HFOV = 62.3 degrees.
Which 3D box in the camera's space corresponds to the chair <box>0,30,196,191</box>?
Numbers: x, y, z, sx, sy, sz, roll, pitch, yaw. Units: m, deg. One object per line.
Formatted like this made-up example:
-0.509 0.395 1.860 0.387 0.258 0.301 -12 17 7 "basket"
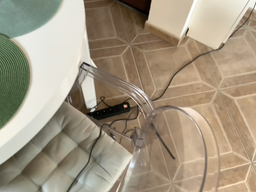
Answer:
-0.200 0.290 0.810 0.480 0.810 0.460 33 65 12 "chair"
